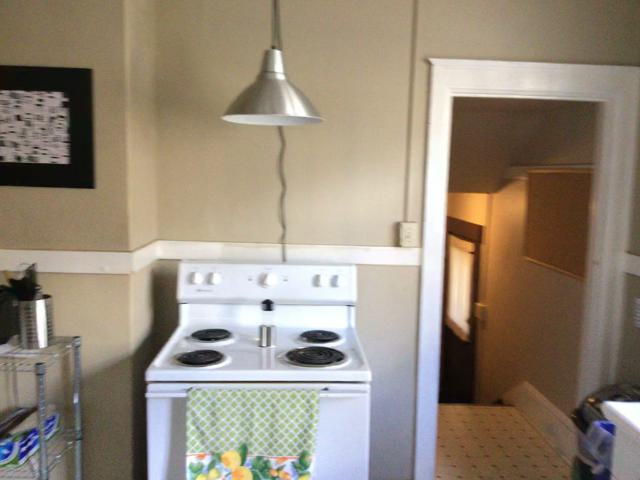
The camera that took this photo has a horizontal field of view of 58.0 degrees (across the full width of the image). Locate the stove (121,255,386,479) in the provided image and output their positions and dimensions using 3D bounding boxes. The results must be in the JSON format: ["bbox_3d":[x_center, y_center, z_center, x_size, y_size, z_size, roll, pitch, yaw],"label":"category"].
[{"bbox_3d":[-0.240,0.700,2.320,0.850,1.180,0.840,1,4,-2],"label":"stove"}]

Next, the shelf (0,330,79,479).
[{"bbox_3d":[-1.260,0.840,2.120,0.590,0.940,0.390,1,4,-2],"label":"shelf"}]

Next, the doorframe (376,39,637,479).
[{"bbox_3d":[0.860,0.160,2.850,1.050,2.100,0.420,1,4,-2],"label":"doorframe"}]
